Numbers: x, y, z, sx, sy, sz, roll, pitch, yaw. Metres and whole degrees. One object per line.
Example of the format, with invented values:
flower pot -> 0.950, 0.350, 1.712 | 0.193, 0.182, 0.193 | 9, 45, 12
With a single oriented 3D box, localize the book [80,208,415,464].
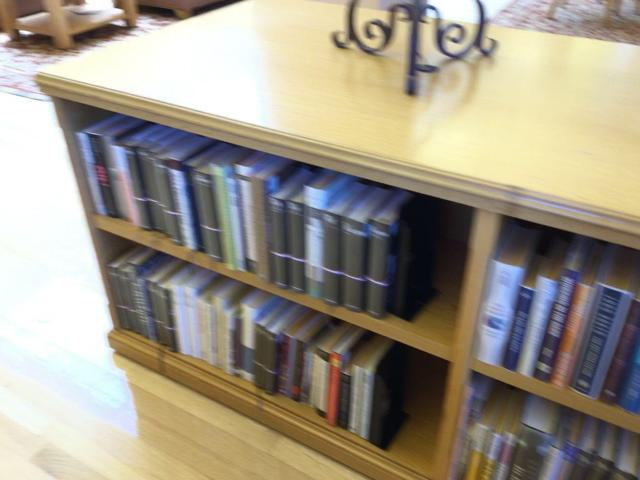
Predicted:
book -> -0.190, 0.190, 1.340 | 0.780, 0.280, 0.170 | 19, 38, 24

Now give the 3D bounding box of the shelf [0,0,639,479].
shelf -> 0.840, 0.110, 1.080 | 2.830, 0.900, 0.970 | 18, 37, 23

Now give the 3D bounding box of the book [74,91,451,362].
book -> -0.140, -0.060, 1.180 | 0.740, 0.300, 0.190 | 19, 38, 24
